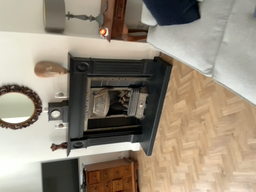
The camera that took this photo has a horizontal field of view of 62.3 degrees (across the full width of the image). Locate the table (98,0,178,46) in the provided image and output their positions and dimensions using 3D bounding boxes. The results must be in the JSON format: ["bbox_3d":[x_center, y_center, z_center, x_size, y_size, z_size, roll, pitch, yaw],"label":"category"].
[{"bbox_3d":[0.140,-1.200,2.450,0.430,0.770,1.080,-127,41,-54],"label":"table"}]

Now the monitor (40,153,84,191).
[{"bbox_3d":[-0.990,1.420,3.240,0.060,0.620,0.980,166,101,-67],"label":"monitor"}]
